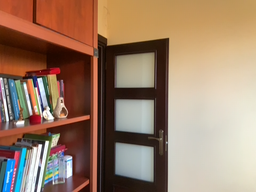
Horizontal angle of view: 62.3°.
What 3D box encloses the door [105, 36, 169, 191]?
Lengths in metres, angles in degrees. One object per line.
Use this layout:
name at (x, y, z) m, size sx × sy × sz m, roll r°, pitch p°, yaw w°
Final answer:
door at (0.070, 0.430, 2.210) m, size 0.660 × 2.010 × 0.080 m, roll 1°, pitch 1°, yaw 27°
